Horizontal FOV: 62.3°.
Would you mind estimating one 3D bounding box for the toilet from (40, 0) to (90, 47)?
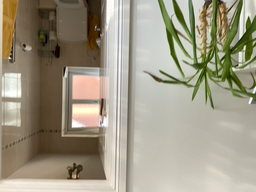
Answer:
[{"bbox_3d":[-0.730,-1.080,2.560,0.460,0.840,0.540,1,-178,-2],"label":"toilet"}]
